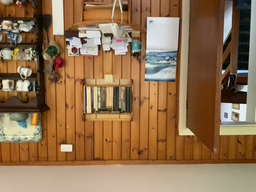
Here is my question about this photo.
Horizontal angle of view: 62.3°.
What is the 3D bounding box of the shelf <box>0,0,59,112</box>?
[{"bbox_3d":[-1.340,-0.430,1.920,1.360,1.140,0.110,0,-175,-3],"label":"shelf"}]
